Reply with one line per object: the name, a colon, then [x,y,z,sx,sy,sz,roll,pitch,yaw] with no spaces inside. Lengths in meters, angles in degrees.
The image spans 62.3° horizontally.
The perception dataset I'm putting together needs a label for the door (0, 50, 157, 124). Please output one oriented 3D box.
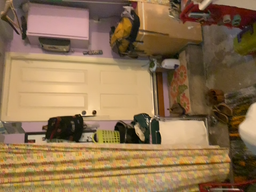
door: [-0.630,-0.110,3.030,0.070,2.140,0.980,137,133,-71]
